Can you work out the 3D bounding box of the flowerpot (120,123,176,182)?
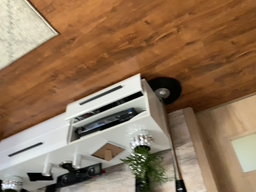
[{"bbox_3d":[0.120,0.360,1.340,0.270,0.240,0.190,-23,134,19],"label":"flowerpot"}]
